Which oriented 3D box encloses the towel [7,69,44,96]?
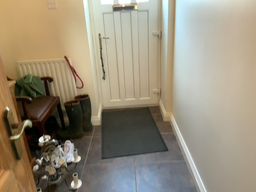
[{"bbox_3d":[-1.060,-0.140,2.220,0.270,0.230,0.150,-3,23,0],"label":"towel"}]

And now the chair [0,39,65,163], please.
[{"bbox_3d":[-1.050,0.030,2.040,0.580,1.020,0.590,-3,23,-1],"label":"chair"}]
